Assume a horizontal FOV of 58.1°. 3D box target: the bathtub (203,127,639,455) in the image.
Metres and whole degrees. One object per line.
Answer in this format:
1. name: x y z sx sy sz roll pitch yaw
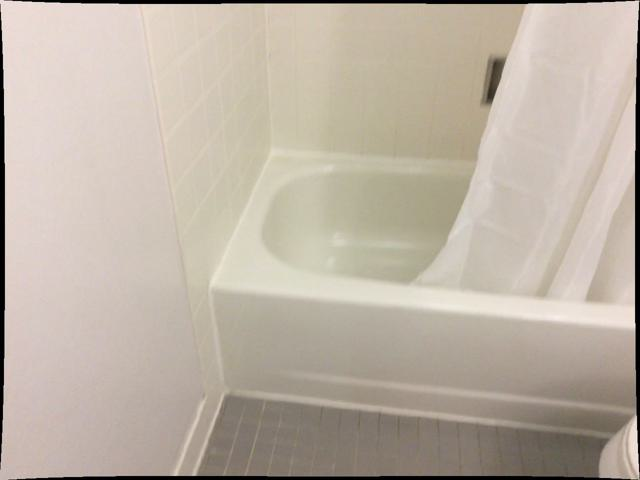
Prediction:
1. bathtub: 0.499 0.100 1.710 1.468 0.430 0.820 6 35 4
